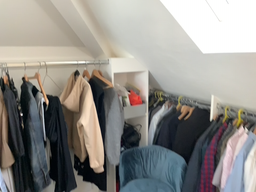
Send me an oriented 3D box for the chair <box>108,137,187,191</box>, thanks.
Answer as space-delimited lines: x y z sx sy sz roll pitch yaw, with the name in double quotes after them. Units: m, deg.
0.190 0.790 1.800 0.550 0.660 0.530 4 13 15 "chair"
